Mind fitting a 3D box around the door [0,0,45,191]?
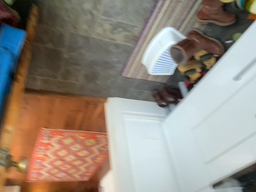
[{"bbox_3d":[-0.550,0.450,0.810,0.150,2.080,0.830,11,138,-27],"label":"door"}]
